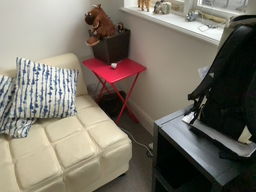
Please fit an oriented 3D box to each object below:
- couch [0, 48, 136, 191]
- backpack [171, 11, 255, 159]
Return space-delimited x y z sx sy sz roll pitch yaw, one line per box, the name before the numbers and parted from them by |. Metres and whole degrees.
couch | -1.070 0.420 1.390 2.020 0.710 1.010 -21 40 -25
backpack | 0.440 -0.070 0.890 0.280 0.430 0.390 -22 40 -25
